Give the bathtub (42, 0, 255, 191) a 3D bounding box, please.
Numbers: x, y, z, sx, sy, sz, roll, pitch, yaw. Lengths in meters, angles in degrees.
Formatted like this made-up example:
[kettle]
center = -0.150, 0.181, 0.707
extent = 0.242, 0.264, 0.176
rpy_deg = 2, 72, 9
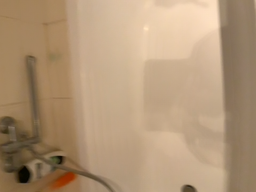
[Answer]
[bathtub]
center = 0.170, -0.130, 0.980
extent = 0.870, 0.570, 1.840
rpy_deg = 0, 97, 30
